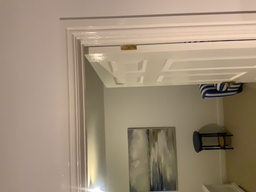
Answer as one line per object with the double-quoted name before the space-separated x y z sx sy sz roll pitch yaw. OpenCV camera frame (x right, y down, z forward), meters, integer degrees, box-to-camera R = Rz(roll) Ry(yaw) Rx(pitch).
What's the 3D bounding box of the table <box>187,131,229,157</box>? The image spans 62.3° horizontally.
"table" 1.490 0.890 4.000 0.400 0.640 0.390 74 -166 -88
